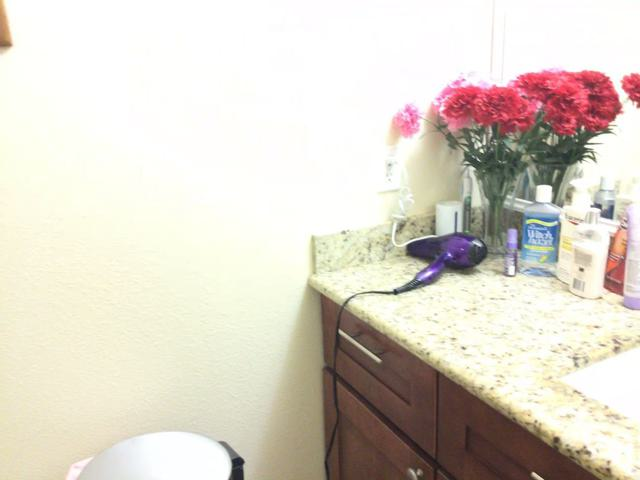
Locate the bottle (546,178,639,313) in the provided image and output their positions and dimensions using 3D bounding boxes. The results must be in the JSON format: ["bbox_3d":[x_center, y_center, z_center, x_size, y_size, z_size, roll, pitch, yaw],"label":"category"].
[{"bbox_3d":[0.640,0.000,1.230,0.170,0.220,0.220,-7,17,-25],"label":"bottle"}]

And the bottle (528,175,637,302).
[{"bbox_3d":[0.560,-0.010,1.250,0.090,0.230,0.170,-7,17,-25],"label":"bottle"}]

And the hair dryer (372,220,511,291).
[{"bbox_3d":[0.290,0.030,1.410,0.250,0.090,0.210,-7,17,-25],"label":"hair dryer"}]
